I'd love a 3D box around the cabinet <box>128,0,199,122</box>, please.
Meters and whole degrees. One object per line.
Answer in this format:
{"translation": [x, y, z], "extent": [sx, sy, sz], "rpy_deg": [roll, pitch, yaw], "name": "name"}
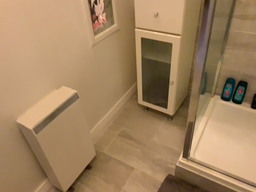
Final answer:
{"translation": [0.290, -0.340, 1.750], "extent": [0.380, 1.090, 0.350], "rpy_deg": [18, 46, 27], "name": "cabinet"}
